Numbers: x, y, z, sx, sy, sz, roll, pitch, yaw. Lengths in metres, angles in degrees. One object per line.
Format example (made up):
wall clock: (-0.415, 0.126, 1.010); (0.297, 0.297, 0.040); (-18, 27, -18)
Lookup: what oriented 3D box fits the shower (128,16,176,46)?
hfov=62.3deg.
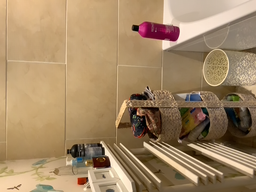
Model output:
shower: (0.130, -0.360, 1.200); (0.180, 0.210, 0.100); (180, 90, -72)

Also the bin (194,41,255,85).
bin: (0.610, -0.190, 1.310); (0.160, 0.340, 0.240); (-167, 77, -72)

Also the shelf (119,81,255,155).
shelf: (0.390, 0.100, 1.250); (0.310, 0.830, 0.340); (-178, 88, -72)
